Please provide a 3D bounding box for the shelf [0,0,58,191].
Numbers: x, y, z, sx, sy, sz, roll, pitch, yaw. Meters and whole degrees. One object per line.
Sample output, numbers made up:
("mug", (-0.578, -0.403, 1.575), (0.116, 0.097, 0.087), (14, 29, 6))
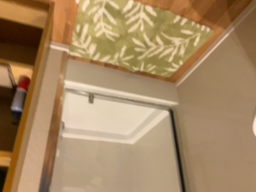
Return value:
("shelf", (-0.590, -0.020, 0.830), (0.430, 1.060, 0.310), (11, 146, -20))
